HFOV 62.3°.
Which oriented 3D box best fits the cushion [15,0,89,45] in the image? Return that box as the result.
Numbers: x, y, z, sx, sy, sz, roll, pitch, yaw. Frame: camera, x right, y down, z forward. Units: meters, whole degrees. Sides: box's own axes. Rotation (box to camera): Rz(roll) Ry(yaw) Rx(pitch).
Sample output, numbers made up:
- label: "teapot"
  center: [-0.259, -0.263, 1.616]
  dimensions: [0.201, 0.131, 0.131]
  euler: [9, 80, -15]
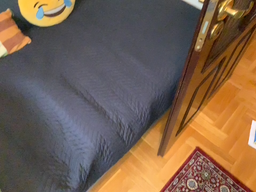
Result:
- label: "cushion"
  center: [-0.440, -0.560, 1.250]
  dimensions: [0.160, 0.340, 0.360]
  euler: [37, 61, 21]
